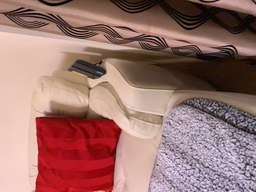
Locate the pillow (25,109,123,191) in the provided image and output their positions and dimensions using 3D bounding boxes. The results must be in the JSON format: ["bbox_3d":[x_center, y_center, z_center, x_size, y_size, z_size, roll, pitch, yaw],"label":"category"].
[{"bbox_3d":[-0.290,0.370,1.210,0.160,0.460,0.560,-100,15,-63],"label":"pillow"}]
